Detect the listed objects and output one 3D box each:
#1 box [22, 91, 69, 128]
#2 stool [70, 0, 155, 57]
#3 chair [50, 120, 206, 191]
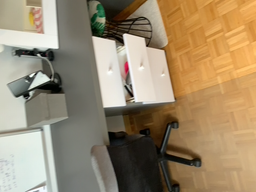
[{"bbox_3d":[-0.520,0.090,1.320,0.290,0.160,0.190,-12,83,45],"label":"box"},{"bbox_3d":[-0.110,-0.530,1.660,0.290,0.560,0.310,-20,77,44],"label":"stool"},{"bbox_3d":[0.030,0.480,1.380,0.520,0.820,0.510,-15,81,45],"label":"chair"}]
